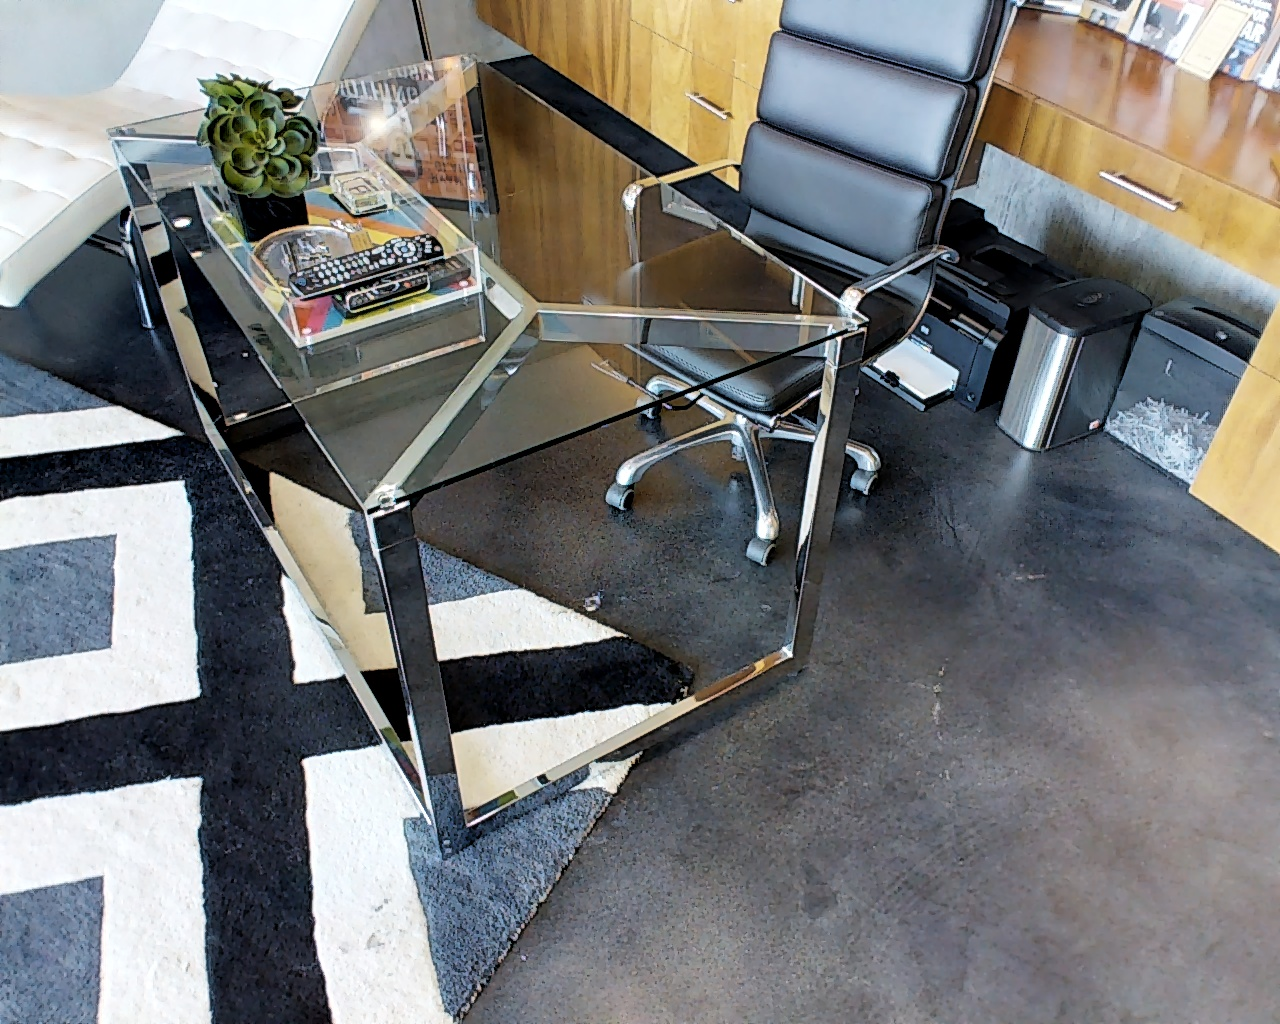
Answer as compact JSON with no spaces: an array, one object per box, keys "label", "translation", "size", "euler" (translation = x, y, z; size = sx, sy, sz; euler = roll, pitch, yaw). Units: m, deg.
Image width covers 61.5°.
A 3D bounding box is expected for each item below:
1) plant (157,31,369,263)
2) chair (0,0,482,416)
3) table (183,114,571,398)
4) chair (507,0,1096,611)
[{"label":"plant","translation":[-0.560,-0.550,1.610],"size":[0.170,0.220,0.260],"euler":[-27,50,-26]},{"label":"chair","translation":[-1.340,-1.180,2.980],"size":[0.880,0.790,1.740],"euler":[21,47,20]},{"label":"table","translation":[-0.420,-0.430,1.700],"size":[0.410,0.130,0.510],"euler":[-25,49,-25]},{"label":"chair","translation":[0.280,-0.530,2.170],"size":[0.700,1.040,0.740],"euler":[33,52,30]}]
